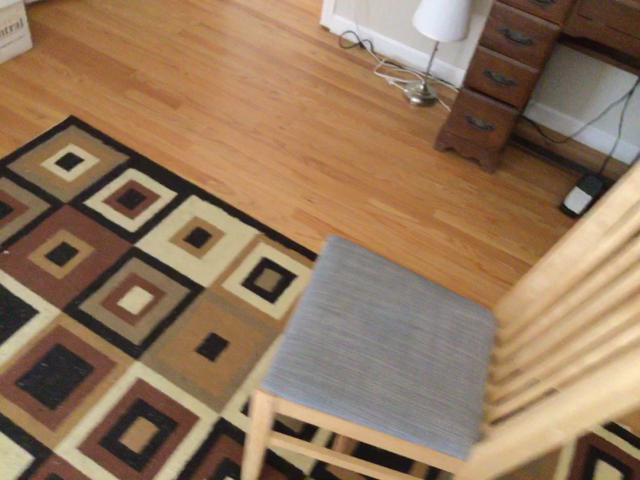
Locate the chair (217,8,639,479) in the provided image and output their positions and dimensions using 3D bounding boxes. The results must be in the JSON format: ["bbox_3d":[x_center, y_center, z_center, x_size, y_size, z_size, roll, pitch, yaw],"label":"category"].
[{"bbox_3d":[0.220,0.200,1.110,0.630,0.940,0.500,22,47,6],"label":"chair"}]
